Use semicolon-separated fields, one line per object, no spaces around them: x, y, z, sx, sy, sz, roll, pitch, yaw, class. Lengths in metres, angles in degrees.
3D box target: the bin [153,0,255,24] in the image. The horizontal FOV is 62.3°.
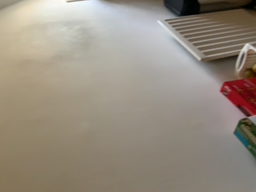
0.660;-0.860;1.730;0.460;0.760;0.270;-116;19;-45;bin
